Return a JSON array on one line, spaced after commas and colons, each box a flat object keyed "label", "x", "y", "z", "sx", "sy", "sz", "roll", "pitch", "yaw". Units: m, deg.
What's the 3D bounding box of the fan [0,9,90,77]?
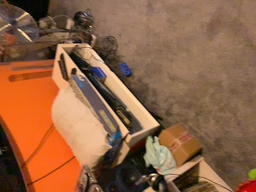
[{"label": "fan", "x": -0.890, "y": -0.550, "z": 2.110, "sx": 0.370, "sy": 0.880, "sz": 0.460, "roll": 44, "pitch": 132, "yaw": 30}]

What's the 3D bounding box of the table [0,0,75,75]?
[{"label": "table", "x": -1.420, "y": -1.070, "z": 2.670, "sx": 1.520, "sy": 0.720, "sz": 0.680, "roll": 50, "pitch": 135, "yaw": 25}]

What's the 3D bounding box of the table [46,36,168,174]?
[{"label": "table", "x": -0.270, "y": 0.010, "z": 1.940, "sx": 1.170, "sy": 0.430, "sz": 0.490, "roll": 50, "pitch": 135, "yaw": 25}]
